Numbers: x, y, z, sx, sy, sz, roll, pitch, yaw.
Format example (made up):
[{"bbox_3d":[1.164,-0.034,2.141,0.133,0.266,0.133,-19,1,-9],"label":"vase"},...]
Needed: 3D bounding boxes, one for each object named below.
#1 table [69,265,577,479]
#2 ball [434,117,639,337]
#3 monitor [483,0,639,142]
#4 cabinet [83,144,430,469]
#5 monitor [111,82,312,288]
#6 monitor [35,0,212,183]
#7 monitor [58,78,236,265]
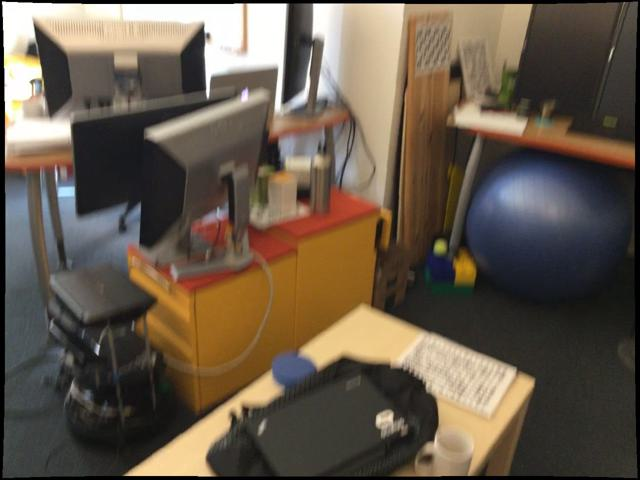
[{"bbox_3d":[0.060,0.611,1.440,0.650,0.610,1.010,24,32,34],"label":"table"},{"bbox_3d":[0.979,-0.100,2.550,0.670,0.671,0.520,24,32,34],"label":"ball"},{"bbox_3d":[1.299,-0.841,2.570,0.870,0.610,0.520,24,32,34],"label":"monitor"},{"bbox_3d":[-0.180,0.140,2.270,0.570,0.711,1.200,24,32,35],"label":"cabinet"},{"bbox_3d":[-0.310,-0.200,1.800,0.220,0.480,0.570,24,32,34],"label":"monitor"},{"bbox_3d":[-0.659,-0.521,2.020,0.510,0.550,0.280,-5,27,-17],"label":"monitor"},{"bbox_3d":[-0.499,-0.230,1.780,0.180,0.450,0.480,24,32,34],"label":"monitor"}]
